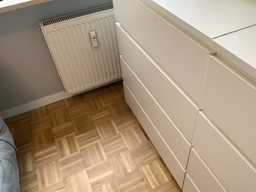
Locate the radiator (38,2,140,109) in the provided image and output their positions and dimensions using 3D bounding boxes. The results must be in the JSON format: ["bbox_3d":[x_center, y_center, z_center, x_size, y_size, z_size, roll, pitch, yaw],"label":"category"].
[{"bbox_3d":[-0.250,-0.300,1.710,0.670,0.700,0.160,-20,46,-14],"label":"radiator"}]
